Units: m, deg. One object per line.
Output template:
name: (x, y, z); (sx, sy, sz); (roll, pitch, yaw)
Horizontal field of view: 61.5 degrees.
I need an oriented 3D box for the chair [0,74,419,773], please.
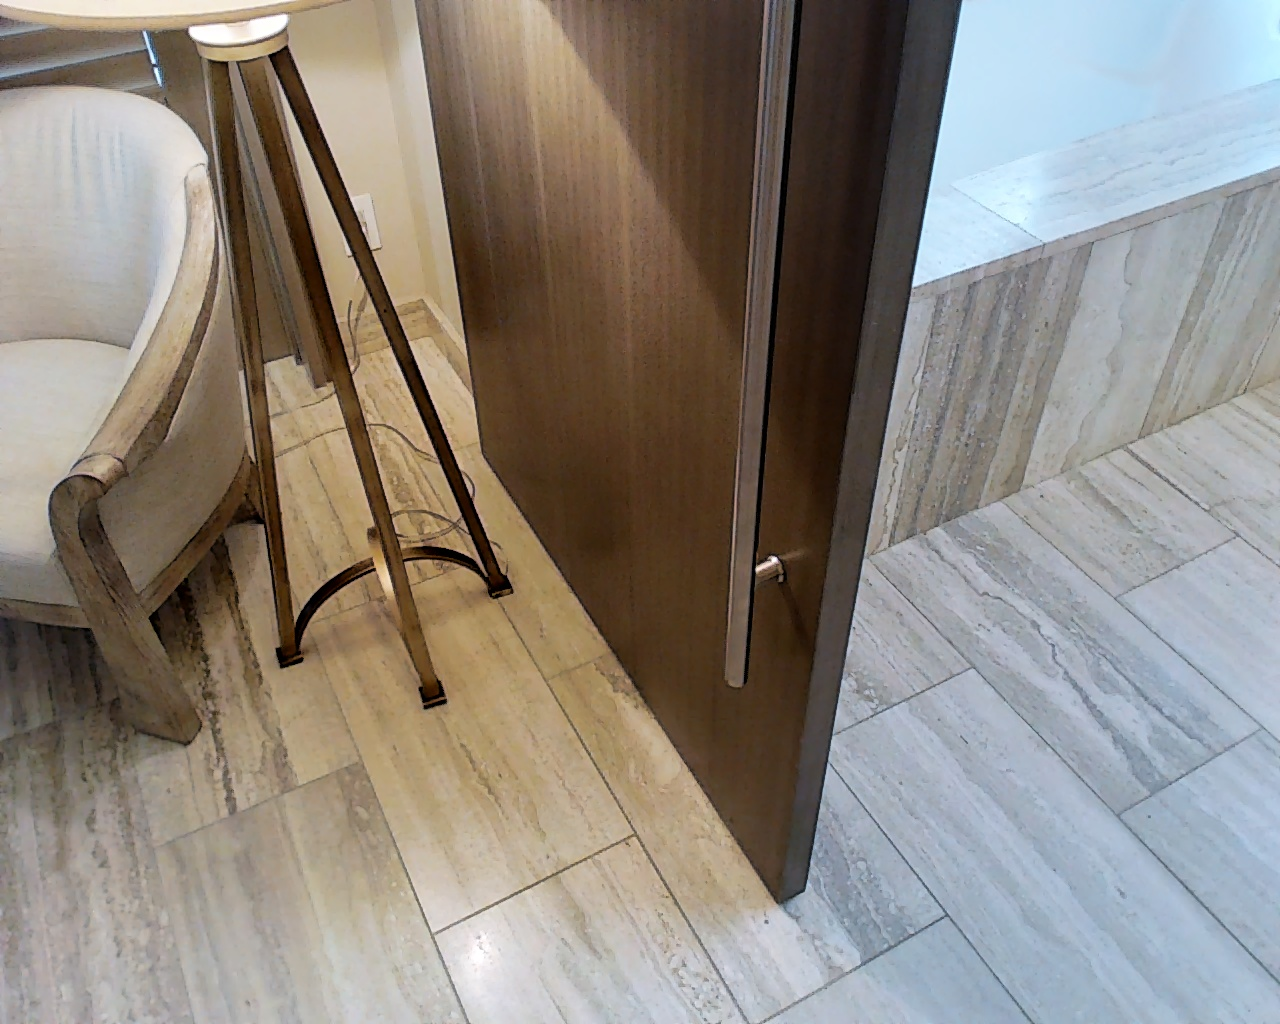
chair: (-0.940, -0.180, 1.720); (0.820, 0.730, 0.710); (11, 44, 13)
